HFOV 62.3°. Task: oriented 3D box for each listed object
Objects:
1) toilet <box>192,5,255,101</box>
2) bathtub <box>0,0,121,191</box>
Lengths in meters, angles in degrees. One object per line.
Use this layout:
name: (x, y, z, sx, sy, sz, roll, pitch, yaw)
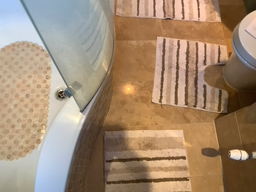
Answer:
toilet: (0.780, -0.230, 1.290, 0.570, 0.450, 0.390, -2, 72, -6)
bathtub: (-0.500, 0.190, 0.980, 0.880, 0.560, 1.630, -2, 72, -6)
